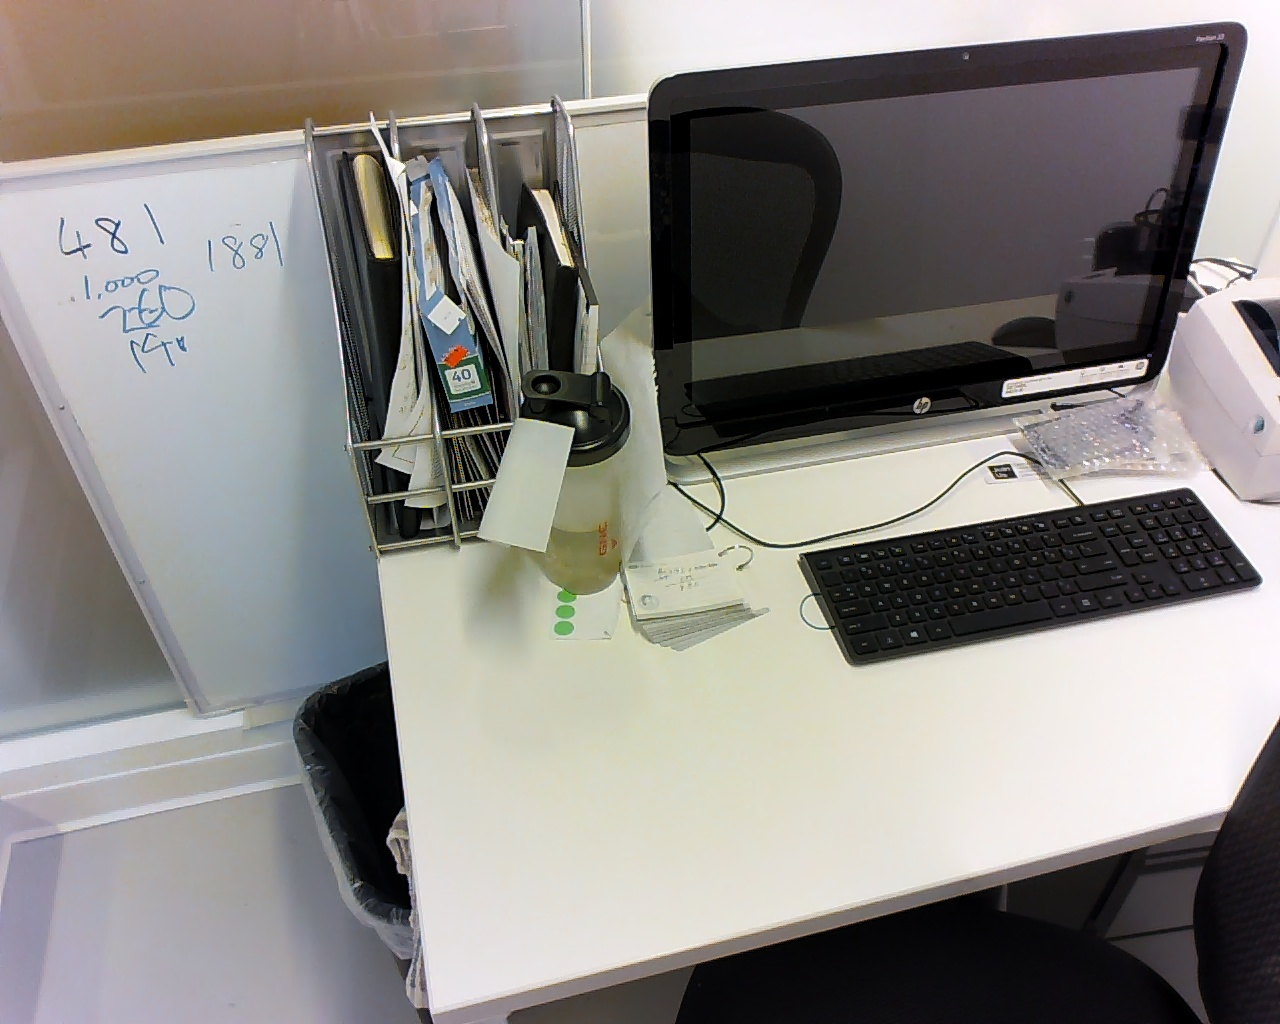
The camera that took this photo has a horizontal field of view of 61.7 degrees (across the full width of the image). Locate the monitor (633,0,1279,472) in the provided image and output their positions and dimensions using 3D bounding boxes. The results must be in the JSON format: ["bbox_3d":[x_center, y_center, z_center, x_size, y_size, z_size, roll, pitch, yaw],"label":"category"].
[{"bbox_3d":[0.330,-0.280,1.070,0.670,0.410,0.090,-10,43,-11],"label":"monitor"}]
